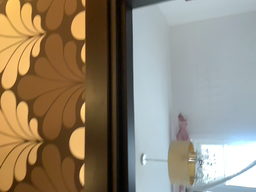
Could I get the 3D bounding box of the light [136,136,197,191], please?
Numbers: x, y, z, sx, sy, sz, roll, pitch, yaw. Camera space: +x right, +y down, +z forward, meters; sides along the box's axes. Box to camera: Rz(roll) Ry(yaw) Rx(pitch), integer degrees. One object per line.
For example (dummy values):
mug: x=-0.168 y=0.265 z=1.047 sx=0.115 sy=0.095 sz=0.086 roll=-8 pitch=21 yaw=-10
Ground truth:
light: x=0.440 y=0.720 z=2.360 sx=0.590 sy=0.530 sz=0.510 roll=-2 pitch=-11 yaw=15
